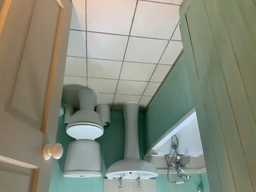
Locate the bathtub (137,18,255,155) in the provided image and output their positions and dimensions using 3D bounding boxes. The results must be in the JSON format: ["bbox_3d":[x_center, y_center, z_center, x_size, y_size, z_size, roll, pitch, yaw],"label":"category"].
[{"bbox_3d":[0.630,0.120,2.070,0.660,0.570,1.640,5,153,-12],"label":"bathtub"}]

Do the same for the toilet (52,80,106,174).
[{"bbox_3d":[-0.490,0.360,2.230,0.420,0.800,0.670,4,153,-11],"label":"toilet"}]

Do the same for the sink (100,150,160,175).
[{"bbox_3d":[0.000,0.730,2.280,0.540,0.180,0.460,5,153,-12],"label":"sink"}]
